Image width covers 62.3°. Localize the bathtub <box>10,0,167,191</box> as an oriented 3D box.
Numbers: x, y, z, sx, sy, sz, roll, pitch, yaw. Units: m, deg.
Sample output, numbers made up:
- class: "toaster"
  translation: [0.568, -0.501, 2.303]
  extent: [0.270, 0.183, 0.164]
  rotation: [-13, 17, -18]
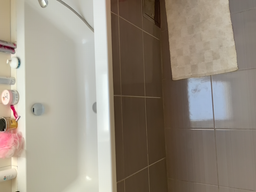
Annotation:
- class: "bathtub"
  translation: [-0.250, 0.340, 1.400]
  extent: [0.800, 0.600, 2.220]
  rotation: [-5, 86, 32]
